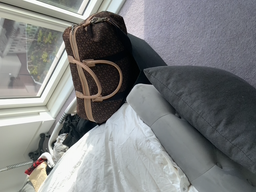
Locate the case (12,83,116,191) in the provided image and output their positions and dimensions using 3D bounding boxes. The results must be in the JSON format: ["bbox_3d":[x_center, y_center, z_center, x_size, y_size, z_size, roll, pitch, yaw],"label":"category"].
[{"bbox_3d":[-0.510,0.330,1.590,0.330,0.340,0.840,51,119,24],"label":"case"}]
